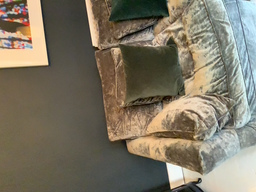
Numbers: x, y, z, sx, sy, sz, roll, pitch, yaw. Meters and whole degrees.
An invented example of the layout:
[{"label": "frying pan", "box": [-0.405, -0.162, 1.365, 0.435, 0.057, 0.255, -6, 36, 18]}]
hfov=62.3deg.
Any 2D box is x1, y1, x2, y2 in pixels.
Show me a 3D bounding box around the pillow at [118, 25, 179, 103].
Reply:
[{"label": "pillow", "box": [0.170, -0.220, 1.580, 0.160, 0.420, 0.410, -17, 58, 49]}]
